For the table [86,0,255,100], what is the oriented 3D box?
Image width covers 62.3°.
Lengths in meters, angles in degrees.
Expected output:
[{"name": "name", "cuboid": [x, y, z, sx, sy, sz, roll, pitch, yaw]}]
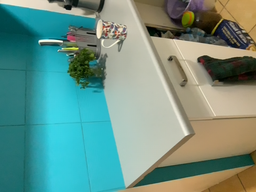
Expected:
[{"name": "table", "cuboid": [0.240, -0.430, 1.390, 0.490, 0.840, 0.770, 120, 142, -46]}]
